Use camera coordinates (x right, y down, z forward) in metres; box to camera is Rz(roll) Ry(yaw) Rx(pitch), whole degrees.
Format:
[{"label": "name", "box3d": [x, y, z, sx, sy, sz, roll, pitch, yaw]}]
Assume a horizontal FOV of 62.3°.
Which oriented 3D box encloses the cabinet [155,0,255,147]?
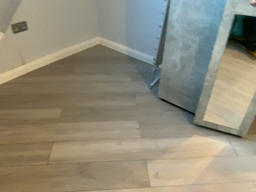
[{"label": "cabinet", "box3d": [0.750, -0.660, 1.350, 0.780, 1.870, 0.560, 29, 44, 30]}]
